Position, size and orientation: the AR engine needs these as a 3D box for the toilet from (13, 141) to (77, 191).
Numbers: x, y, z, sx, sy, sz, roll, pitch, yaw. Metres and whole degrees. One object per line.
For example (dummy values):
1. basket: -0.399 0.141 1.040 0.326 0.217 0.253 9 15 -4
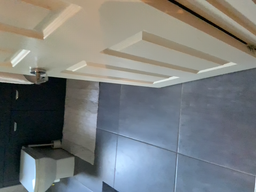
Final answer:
1. toilet: -0.910 0.750 2.310 0.540 0.460 0.360 4 90 47
